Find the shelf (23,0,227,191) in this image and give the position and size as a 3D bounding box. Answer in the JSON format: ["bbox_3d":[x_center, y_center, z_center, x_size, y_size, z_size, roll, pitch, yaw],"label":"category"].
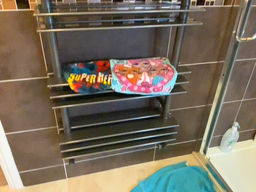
[{"bbox_3d":[-0.020,-0.020,0.990,0.660,1.390,0.270,-6,33,-14],"label":"shelf"}]
